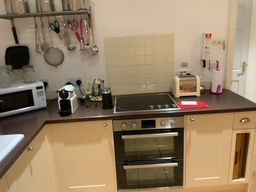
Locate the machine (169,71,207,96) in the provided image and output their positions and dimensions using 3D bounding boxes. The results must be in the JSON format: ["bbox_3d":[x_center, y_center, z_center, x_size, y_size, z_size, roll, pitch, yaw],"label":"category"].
[{"bbox_3d":[0.600,-0.130,2.180,0.310,0.190,0.250,-3,16,-1],"label":"machine"}]

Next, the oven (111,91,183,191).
[{"bbox_3d":[0.170,0.510,2.180,0.600,0.980,0.590,-3,16,-2],"label":"oven"}]
